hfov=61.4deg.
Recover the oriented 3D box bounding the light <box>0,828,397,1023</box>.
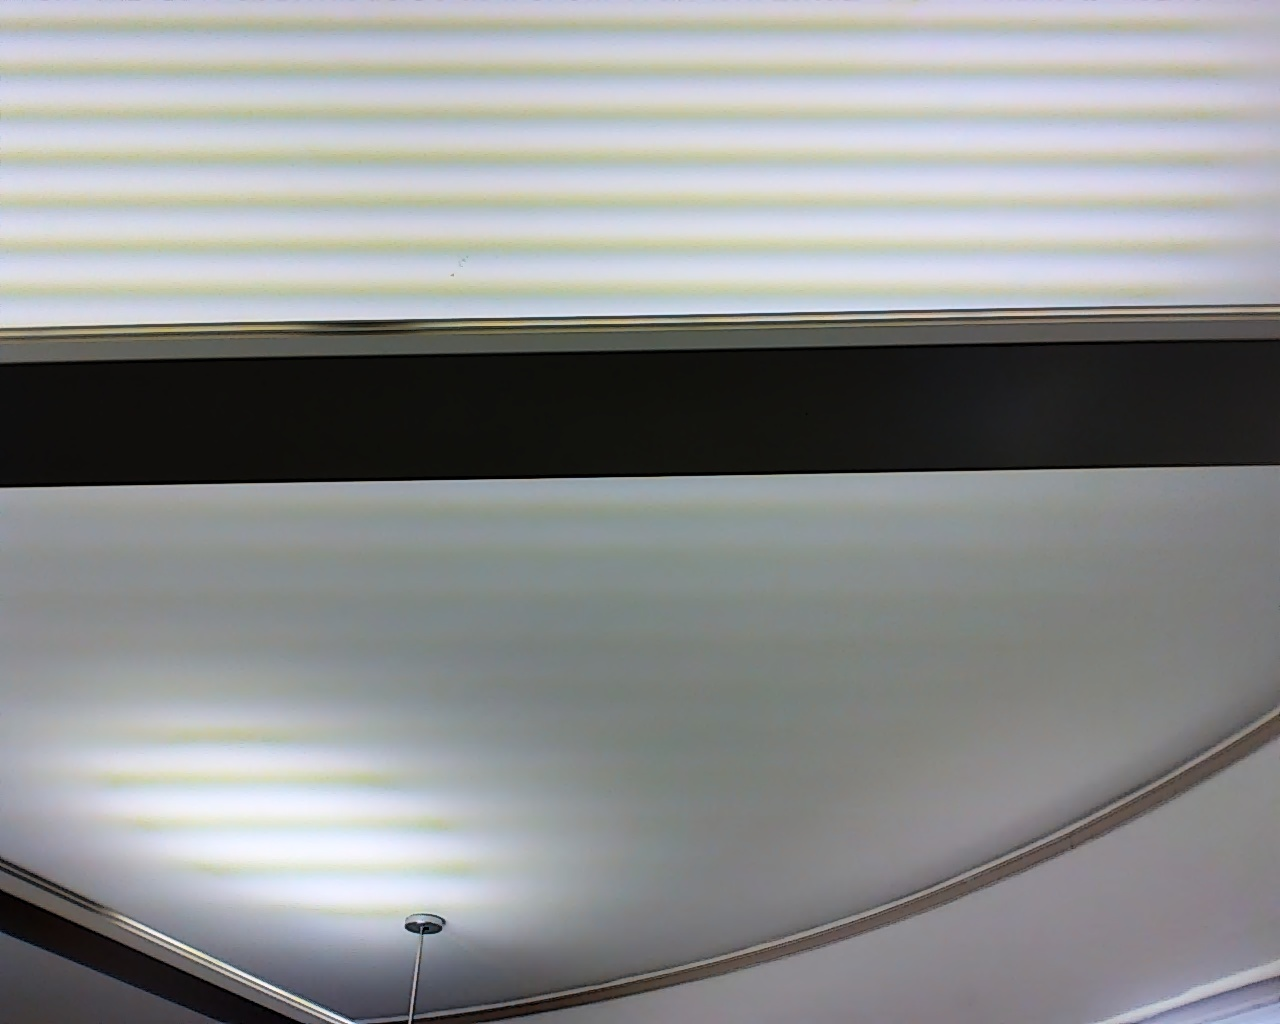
[{"bbox_3d":[-1.170,0.830,2.220,0.220,0.080,2.700,-17,-45,18],"label":"light"}]
